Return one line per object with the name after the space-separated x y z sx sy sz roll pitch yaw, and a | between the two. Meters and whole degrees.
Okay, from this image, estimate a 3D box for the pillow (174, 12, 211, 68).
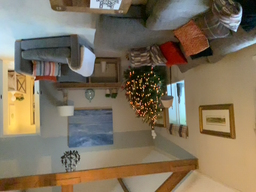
0.840 -0.740 2.850 0.150 0.450 0.570 -3 138 -12 | pillow

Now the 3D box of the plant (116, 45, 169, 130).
0.310 -0.190 5.210 0.920 1.870 0.940 -2 177 -16 | plant
